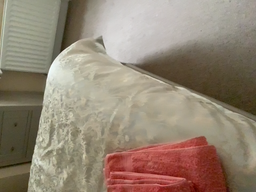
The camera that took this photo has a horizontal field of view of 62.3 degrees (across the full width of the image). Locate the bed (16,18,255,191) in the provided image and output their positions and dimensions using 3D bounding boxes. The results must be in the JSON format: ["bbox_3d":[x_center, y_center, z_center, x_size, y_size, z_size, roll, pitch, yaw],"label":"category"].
[{"bbox_3d":[-0.070,0.780,1.270,1.480,0.700,2.090,31,112,43],"label":"bed"}]
